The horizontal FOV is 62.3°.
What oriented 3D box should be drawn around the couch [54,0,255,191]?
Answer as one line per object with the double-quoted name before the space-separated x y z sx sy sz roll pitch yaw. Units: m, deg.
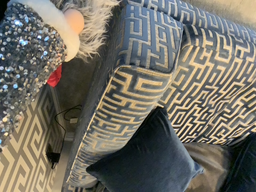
"couch" 0.410 0.290 1.190 1.380 0.740 1.180 16 137 -16
